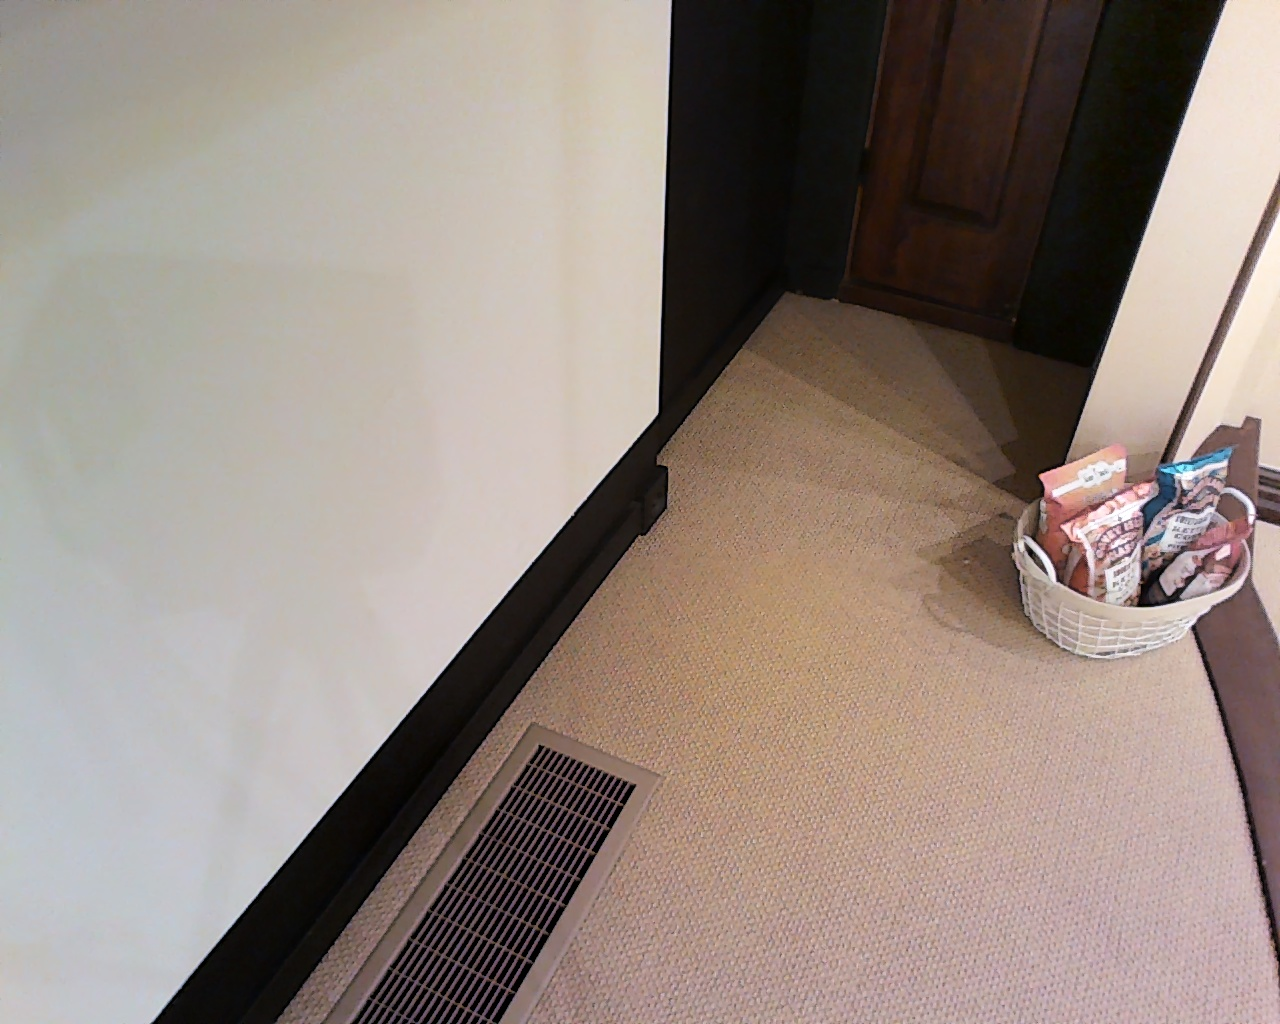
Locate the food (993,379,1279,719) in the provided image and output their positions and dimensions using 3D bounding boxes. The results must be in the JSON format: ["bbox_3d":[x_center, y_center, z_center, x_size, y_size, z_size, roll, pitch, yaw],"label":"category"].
[{"bbox_3d":[0.960,0.050,2.030,0.460,0.300,0.500,13,43,14],"label":"food"}]
